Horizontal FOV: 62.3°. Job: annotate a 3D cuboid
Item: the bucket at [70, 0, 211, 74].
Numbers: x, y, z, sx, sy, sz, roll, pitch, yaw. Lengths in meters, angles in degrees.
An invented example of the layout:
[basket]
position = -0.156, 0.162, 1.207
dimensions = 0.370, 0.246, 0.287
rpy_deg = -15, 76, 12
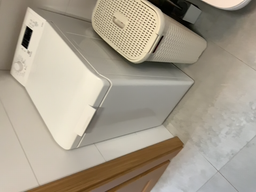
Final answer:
[bucket]
position = 0.090, -0.400, 1.260
dimensions = 0.530, 0.620, 0.260
rpy_deg = 46, 119, 29
